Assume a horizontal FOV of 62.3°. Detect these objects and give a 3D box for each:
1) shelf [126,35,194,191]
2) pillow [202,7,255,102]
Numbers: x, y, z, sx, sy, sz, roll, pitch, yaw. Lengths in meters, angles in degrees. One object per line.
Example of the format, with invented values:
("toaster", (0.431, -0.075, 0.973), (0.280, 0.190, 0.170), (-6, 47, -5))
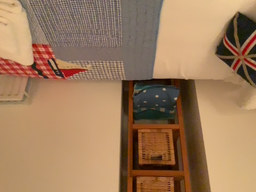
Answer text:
("shelf", (0.200, 0.210, 1.630), (0.390, 1.380, 0.410), (-1, 154, 3))
("pillow", (0.560, -0.170, 0.990), (0.090, 0.280, 0.420), (-33, 167, -16))
